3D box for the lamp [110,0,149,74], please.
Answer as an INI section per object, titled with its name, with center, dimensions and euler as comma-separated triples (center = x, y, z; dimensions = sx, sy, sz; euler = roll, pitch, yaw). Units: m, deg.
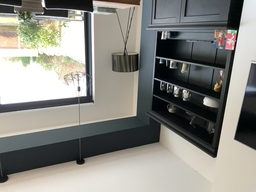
[lamp]
center = 0.020, -1.280, 3.640
dimensions = 0.460, 1.710, 0.470
euler = -7, -161, -29
